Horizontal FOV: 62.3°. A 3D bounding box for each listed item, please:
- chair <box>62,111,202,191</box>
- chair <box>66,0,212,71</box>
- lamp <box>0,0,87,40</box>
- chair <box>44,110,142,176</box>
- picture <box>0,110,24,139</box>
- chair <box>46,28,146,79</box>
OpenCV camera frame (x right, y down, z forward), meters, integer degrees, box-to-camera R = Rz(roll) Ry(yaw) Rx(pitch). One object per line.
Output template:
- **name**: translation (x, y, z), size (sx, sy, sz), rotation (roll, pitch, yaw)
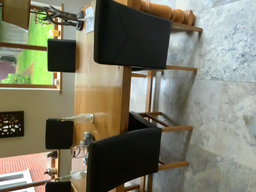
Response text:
- **chair**: translation (0.030, 0.440, 1.900), size (0.630, 1.040, 0.440), rotation (18, 106, 57)
- **chair**: translation (0.090, -0.450, 1.790), size (0.630, 1.040, 0.410), rotation (12, 101, 57)
- **lamp**: translation (-0.890, -0.860, 2.190), size (0.460, 0.790, 0.420), rotation (14, 102, 57)
- **chair**: translation (-0.450, 0.520, 2.690), size (0.670, 1.020, 0.480), rotation (21, 108, 56)
- **picture**: translation (-1.640, 0.380, 2.800), size (0.060, 0.470, 0.370), rotation (11, 100, 57)
- **chair**: translation (-0.400, -0.470, 2.590), size (0.670, 1.010, 0.460), rotation (14, 102, 57)
